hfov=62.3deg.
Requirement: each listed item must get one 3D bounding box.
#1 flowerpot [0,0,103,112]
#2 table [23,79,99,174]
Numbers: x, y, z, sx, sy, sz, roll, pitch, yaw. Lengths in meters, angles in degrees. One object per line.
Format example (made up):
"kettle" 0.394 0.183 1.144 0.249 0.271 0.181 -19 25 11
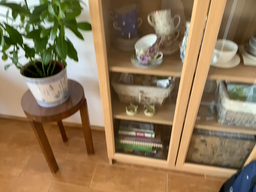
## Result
"flowerpot" -0.400 -0.250 1.030 0.450 0.530 0.350 3 39 5
"table" -0.370 0.200 1.320 0.280 0.530 0.280 3 39 4
